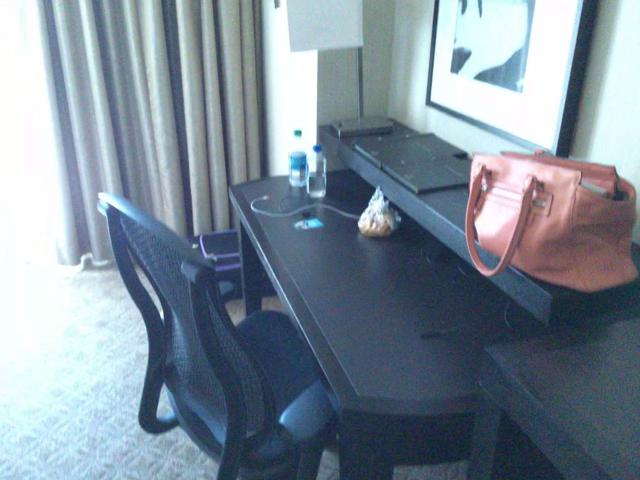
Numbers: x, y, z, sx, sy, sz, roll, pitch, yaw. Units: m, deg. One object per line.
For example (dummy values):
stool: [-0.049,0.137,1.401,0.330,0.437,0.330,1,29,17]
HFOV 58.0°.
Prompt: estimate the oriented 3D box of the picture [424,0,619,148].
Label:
picture: [0.470,-0.720,1.440,0.090,0.910,0.690,-4,15,-15]

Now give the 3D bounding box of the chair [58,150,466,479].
chair: [-0.160,0.360,1.500,0.700,1.030,0.650,-13,23,-35]

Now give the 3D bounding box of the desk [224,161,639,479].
desk: [0.140,0.310,1.800,0.620,0.960,1.450,-4,14,-17]
